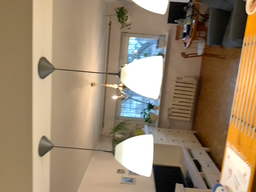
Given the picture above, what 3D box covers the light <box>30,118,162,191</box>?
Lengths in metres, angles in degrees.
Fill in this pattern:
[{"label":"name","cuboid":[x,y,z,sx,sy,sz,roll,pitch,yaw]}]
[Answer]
[{"label":"light","cuboid":[-0.170,0.320,1.210,0.260,0.660,0.270,-85,0,-80]}]
